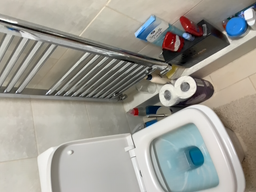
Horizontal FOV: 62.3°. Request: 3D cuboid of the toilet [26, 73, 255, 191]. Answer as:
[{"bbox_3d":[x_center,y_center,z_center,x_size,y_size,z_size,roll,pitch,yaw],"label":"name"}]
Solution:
[{"bbox_3d":[0.130,0.290,0.900,0.630,0.810,0.410,-34,65,37],"label":"toilet"}]
